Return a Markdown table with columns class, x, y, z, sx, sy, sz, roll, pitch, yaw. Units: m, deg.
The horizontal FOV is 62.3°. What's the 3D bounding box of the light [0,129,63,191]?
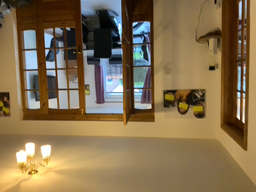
| class | x | y | z | sx | sy | sz | roll | pitch | yaw |
| --- | --- | --- | --- | --- | --- | --- | --- | --- | --- |
| light | -1.040 | 0.620 | 2.040 | 0.620 | 0.430 | 0.270 | 23 | 98 | 5 |
